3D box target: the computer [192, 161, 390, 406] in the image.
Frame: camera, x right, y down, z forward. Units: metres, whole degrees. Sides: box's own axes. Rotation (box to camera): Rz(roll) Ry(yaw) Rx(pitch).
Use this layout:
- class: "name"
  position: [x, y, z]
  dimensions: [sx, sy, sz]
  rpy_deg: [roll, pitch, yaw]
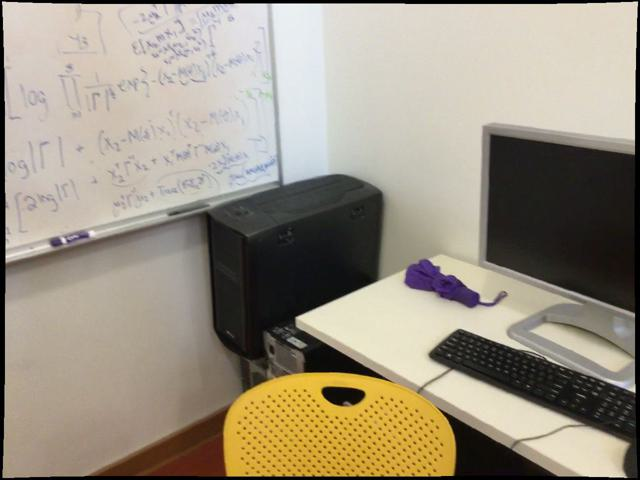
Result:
- class: "computer"
  position: [-0.080, 0.120, 2.060]
  dimensions: [0.590, 0.651, 0.320]
  rpy_deg: [-19, 29, -36]

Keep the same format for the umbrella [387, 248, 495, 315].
- class: "umbrella"
  position: [0.340, 0.110, 1.650]
  dimensions: [0.170, 0.060, 0.250]
  rpy_deg: [-17, 27, -32]
